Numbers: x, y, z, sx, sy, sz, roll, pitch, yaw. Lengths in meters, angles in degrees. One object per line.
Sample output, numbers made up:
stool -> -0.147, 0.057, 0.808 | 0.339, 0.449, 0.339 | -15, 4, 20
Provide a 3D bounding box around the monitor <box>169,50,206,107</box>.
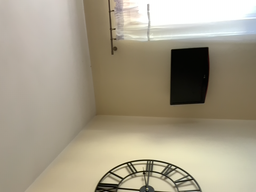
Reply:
monitor -> 0.550, -0.150, 1.950 | 0.040, 0.300, 0.500 | -60, -37, -67
